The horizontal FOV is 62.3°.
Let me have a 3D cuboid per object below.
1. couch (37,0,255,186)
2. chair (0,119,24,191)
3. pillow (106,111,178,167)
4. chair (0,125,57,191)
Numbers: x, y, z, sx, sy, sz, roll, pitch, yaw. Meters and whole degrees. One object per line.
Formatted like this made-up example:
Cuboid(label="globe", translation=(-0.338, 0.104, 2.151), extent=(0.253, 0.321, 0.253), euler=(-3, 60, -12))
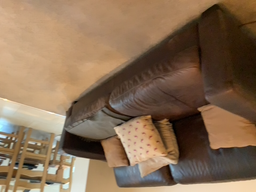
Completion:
Cuboid(label="couch", translation=(0.180, 0.300, 1.970), extent=(1.150, 0.860, 1.960), euler=(23, 147, -35))
Cuboid(label="chair", translation=(-2.090, 0.930, 3.260), extent=(0.540, 0.960, 0.750), euler=(20, 148, -31))
Cuboid(label="pillow", translation=(0.120, 0.400, 1.840), extent=(0.420, 0.330, 0.430), euler=(24, 146, -36))
Cuboid(label="chair", translation=(-1.680, 1.100, 3.570), extent=(0.540, 0.960, 0.740), euler=(20, 148, -31))
